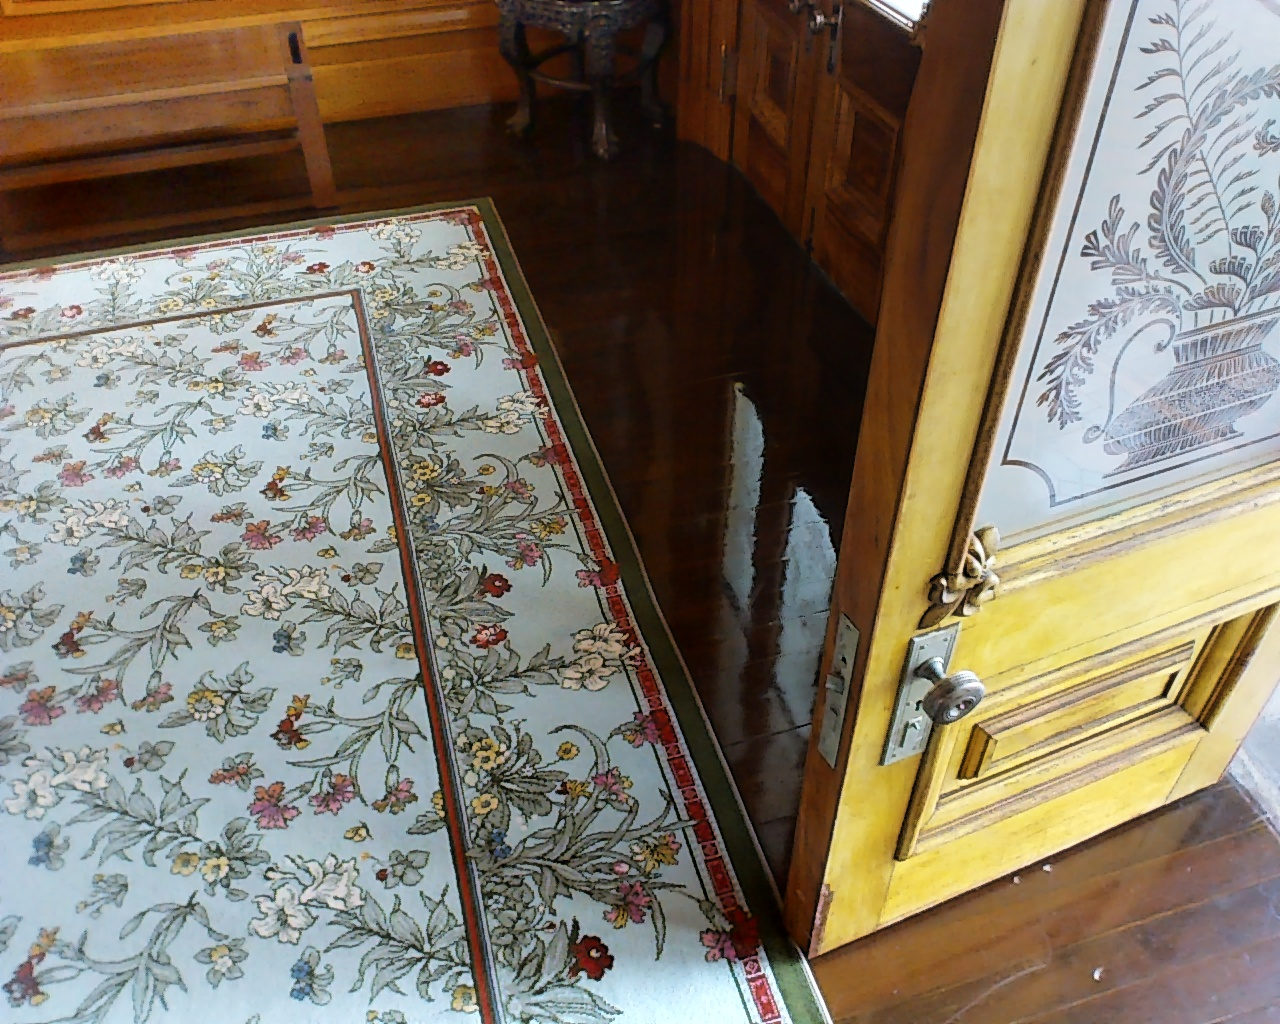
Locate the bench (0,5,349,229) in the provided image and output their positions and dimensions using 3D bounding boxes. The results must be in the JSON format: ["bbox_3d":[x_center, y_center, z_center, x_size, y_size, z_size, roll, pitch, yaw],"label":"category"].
[{"bbox_3d":[-1.620,-1.250,3.390,1.260,0.380,0.550,-12,44,-12],"label":"bench"}]
